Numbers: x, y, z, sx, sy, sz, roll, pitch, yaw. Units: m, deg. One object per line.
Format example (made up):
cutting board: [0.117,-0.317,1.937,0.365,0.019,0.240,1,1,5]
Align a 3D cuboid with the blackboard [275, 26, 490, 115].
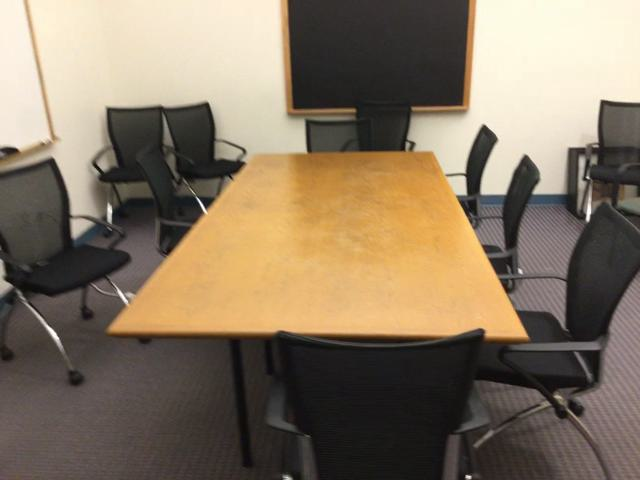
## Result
blackboard: [0.480,-1.320,4.570,1.620,0.590,0.120,-1,22,6]

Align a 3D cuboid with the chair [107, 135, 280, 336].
chair: [-0.630,-0.030,3.170,0.670,0.940,0.560,-1,22,6]

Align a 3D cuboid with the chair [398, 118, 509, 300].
chair: [0.740,-0.190,3.400,0.540,0.910,0.570,-1,22,6]

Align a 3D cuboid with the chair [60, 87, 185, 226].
chair: [-1.500,-0.670,4.570,0.570,0.930,0.660,-1,22,6]

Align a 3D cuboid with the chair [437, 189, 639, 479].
chair: [0.740,0.340,2.030,0.590,0.890,0.550,-1,22,6]

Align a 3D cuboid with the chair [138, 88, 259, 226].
chair: [-0.940,-0.680,4.590,0.630,0.910,0.550,15,28,37]

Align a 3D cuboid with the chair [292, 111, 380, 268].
chair: [0.130,-0.330,3.790,0.500,0.920,0.420,-1,22,6]

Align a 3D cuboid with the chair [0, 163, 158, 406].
chair: [-1.270,0.170,2.790,0.600,0.910,0.560,12,27,34]

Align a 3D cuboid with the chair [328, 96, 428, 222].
chair: [0.480,-0.650,4.570,0.660,0.840,0.600,3,23,16]

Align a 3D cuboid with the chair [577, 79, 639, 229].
chair: [2.130,-0.610,4.020,0.520,0.900,0.590,8,25,26]

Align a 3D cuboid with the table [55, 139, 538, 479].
table: [0.040,0.170,2.800,1.290,0.730,2.440,-1,22,6]

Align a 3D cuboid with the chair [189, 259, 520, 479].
chair: [0.110,0.600,1.570,0.630,0.910,0.630,-1,22,6]
